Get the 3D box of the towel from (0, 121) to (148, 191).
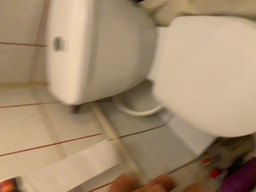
[{"bbox_3d":[-0.180,0.230,0.650,0.140,0.460,0.190,-53,57,37],"label":"towel"}]
